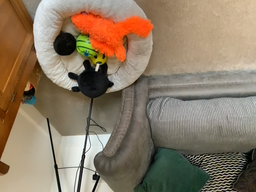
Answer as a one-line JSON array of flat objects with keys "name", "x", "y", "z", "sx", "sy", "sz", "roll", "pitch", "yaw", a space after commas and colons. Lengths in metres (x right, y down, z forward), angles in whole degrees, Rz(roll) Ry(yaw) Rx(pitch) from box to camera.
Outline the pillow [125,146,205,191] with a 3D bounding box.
[{"name": "pillow", "x": 0.260, "y": 0.630, "z": 1.550, "sx": 0.520, "sy": 0.440, "sz": 0.250, "roll": -5, "pitch": 146, "yaw": 9}]

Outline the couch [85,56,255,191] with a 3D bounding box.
[{"name": "couch", "x": 0.690, "y": 0.370, "z": 1.670, "sx": 1.680, "sy": 0.750, "sz": 1.100, "roll": -4, "pitch": 145, "yaw": 8}]
